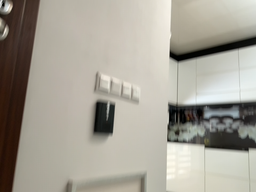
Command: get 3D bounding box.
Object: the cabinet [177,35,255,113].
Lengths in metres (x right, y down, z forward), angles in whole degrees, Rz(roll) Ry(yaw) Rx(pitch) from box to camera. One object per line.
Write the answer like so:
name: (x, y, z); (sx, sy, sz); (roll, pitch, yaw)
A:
cabinet: (1.540, -0.250, 3.160); (1.420, 0.900, 0.670); (-6, 166, 43)
